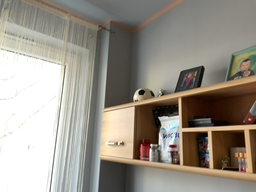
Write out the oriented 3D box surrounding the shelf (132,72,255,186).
[{"bbox_3d":[0.380,0.170,1.030,0.270,0.390,0.800,12,-16,-35],"label":"shelf"}]
